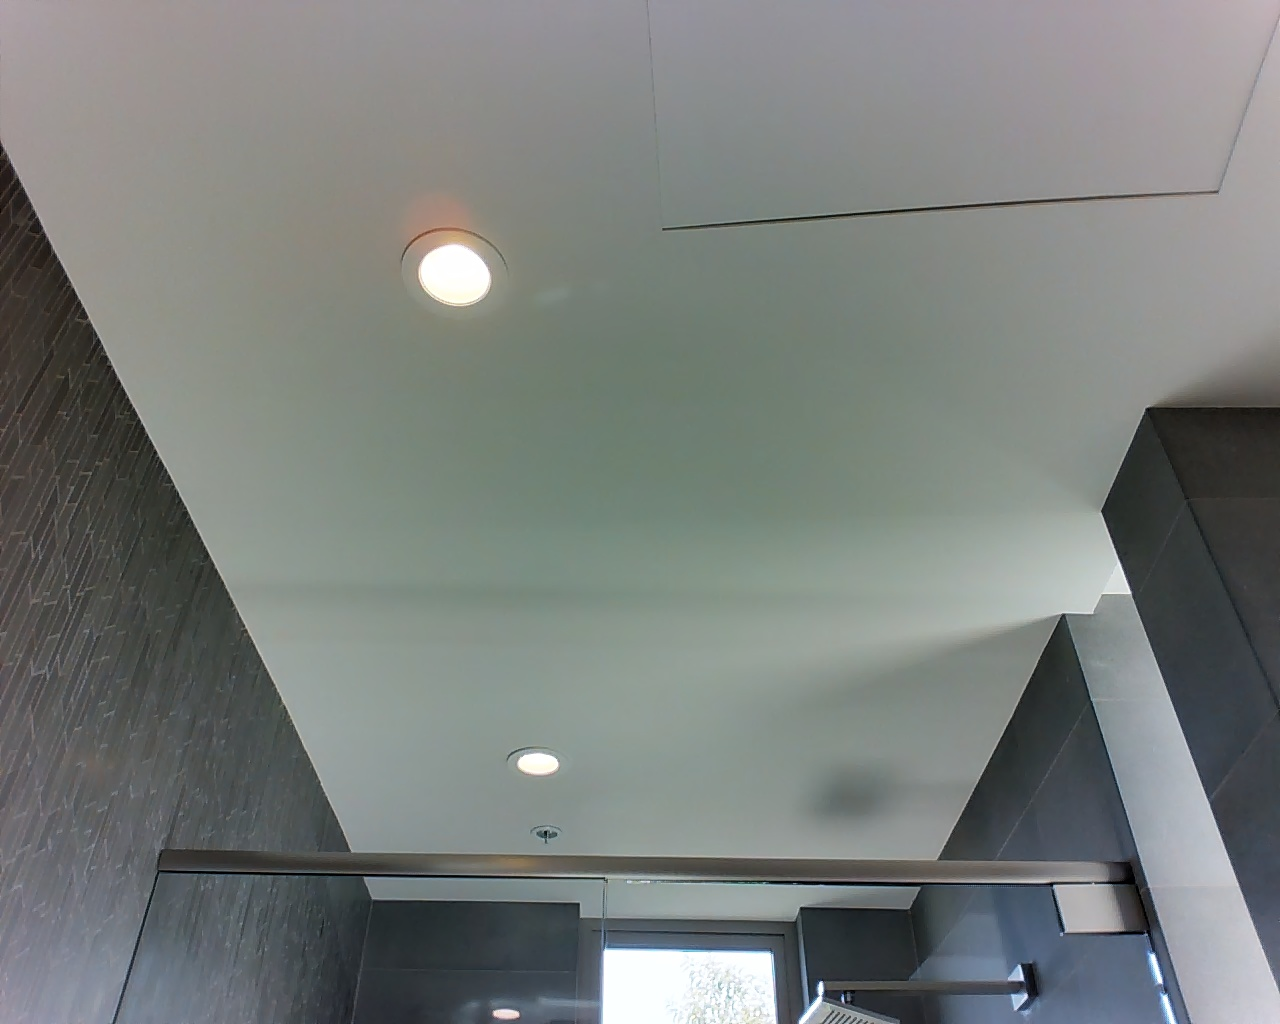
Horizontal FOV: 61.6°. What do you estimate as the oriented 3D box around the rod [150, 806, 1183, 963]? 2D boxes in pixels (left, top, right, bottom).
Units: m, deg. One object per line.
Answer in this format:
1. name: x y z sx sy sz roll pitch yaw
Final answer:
1. rod: 0.040 0.550 1.580 1.409 0.150 0.180 1 -41 -1
